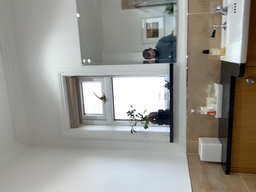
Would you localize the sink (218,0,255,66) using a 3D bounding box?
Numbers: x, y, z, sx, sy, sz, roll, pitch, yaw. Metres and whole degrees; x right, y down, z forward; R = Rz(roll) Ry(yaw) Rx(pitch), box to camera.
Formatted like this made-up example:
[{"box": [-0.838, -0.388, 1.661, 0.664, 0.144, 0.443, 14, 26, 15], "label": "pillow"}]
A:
[{"box": [0.690, -0.550, 1.290, 0.490, 0.130, 0.700, -45, -45, -74], "label": "sink"}]
